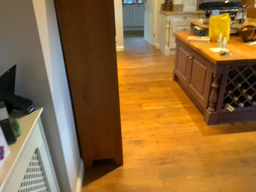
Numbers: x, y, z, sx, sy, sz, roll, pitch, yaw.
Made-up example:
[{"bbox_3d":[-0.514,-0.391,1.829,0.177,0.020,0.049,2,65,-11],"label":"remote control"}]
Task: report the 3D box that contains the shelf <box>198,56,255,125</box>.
[{"bbox_3d":[1.430,-0.070,2.450,1.090,0.720,0.240,-4,28,-5],"label":"shelf"}]
